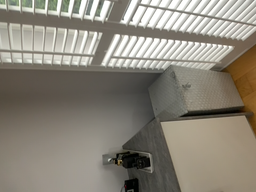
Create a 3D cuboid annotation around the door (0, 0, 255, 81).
[{"bbox_3d":[0.090,-0.520,0.900,1.650,2.080,0.080,131,131,-55],"label":"door"}]
